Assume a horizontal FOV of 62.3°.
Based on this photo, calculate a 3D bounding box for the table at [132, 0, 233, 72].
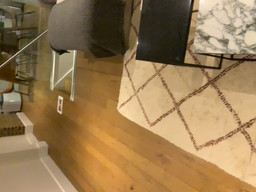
[{"bbox_3d":[0.340,-0.400,1.390,0.420,0.410,0.420,18,105,51],"label":"table"}]

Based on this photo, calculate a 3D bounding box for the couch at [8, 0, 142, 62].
[{"bbox_3d":[-0.610,-0.890,2.250,1.110,0.990,0.880,19,106,50],"label":"couch"}]

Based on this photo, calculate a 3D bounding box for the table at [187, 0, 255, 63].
[{"bbox_3d":[0.610,-0.380,1.040,0.410,0.400,0.410,16,104,51],"label":"table"}]
